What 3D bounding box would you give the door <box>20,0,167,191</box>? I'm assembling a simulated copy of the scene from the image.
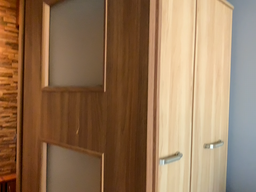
[{"bbox_3d":[-0.240,0.400,0.820,0.080,1.980,0.830,1,1,-44],"label":"door"}]
